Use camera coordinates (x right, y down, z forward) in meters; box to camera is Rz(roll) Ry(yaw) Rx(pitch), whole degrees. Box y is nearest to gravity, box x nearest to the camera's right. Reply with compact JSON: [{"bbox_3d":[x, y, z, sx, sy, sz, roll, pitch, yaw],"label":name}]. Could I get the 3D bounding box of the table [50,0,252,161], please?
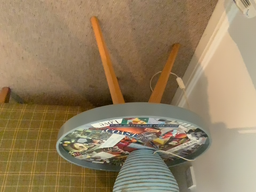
[{"bbox_3d":[0.040,-0.040,0.820,0.490,0.450,0.450,1,147,-5],"label":"table"}]
